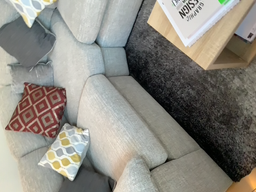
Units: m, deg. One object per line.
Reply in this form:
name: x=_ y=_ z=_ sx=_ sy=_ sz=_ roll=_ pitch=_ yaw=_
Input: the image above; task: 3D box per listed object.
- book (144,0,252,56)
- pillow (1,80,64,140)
book: x=0.240 y=-0.370 z=0.800 sx=0.290 sy=0.080 sz=0.320 roll=-48 pitch=62 yaw=43
pillow: x=-0.790 y=0.120 z=1.820 sx=0.170 sy=0.420 sz=0.420 roll=22 pitch=88 yaw=5
